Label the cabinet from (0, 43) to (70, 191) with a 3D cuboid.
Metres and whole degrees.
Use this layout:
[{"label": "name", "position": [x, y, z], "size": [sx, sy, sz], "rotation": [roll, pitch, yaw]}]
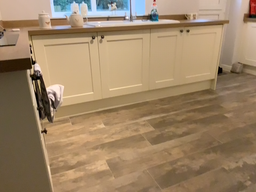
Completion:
[{"label": "cabinet", "position": [-0.630, 0.270, 0.950], "size": [0.620, 0.910, 0.300], "rotation": [-11, 24, -23]}]
